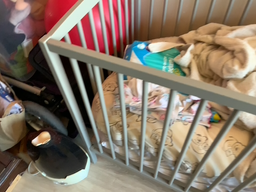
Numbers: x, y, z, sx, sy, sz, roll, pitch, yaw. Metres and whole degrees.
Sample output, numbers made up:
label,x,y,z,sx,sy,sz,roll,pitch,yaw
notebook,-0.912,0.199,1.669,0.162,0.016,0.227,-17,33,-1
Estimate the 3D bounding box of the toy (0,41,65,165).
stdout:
label,x,y,z,sx,sy,sz,roll,pitch,yaw
toy,-0.630,0.040,1.070,0.370,0.580,0.300,17,55,15
